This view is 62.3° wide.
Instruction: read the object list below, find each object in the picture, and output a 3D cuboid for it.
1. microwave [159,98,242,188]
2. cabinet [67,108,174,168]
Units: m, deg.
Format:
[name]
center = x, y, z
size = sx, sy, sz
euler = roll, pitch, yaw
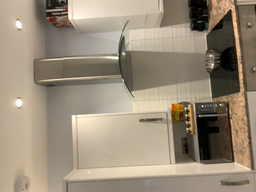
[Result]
[microwave]
center = 0.530, 0.330, 1.730
size = 0.600, 0.440, 0.580
euler = 75, -168, -87
[cabinet]
center = -0.060, 0.340, 1.820
size = 0.330, 0.820, 0.430
euler = 80, -173, -85
